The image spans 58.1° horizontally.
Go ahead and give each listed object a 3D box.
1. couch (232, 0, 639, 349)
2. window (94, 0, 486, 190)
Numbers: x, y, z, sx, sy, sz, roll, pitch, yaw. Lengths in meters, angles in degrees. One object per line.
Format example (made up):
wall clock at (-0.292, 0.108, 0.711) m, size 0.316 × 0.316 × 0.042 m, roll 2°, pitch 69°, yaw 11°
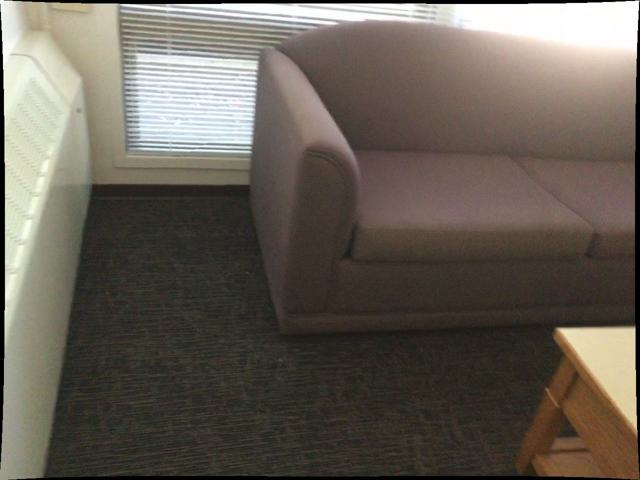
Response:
couch at (0.649, -0.270, 2.080) m, size 1.837 × 0.761 × 1.041 m, roll 1°, pitch 34°, yaw -12°
window at (-0.050, -1.122, 1.850) m, size 1.278 × 1.952 × 0.330 m, roll 1°, pitch 34°, yaw -12°
